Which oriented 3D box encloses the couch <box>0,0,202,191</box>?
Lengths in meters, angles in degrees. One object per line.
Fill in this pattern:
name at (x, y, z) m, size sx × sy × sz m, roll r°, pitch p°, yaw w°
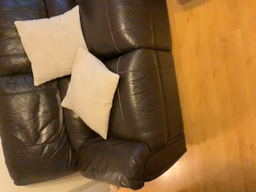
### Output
couch at (-0.370, -0.460, 1.430) m, size 1.050 × 0.920 × 1.990 m, roll -10°, pitch 90°, yaw 44°
